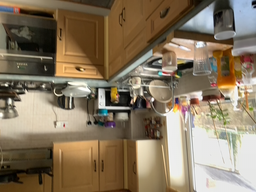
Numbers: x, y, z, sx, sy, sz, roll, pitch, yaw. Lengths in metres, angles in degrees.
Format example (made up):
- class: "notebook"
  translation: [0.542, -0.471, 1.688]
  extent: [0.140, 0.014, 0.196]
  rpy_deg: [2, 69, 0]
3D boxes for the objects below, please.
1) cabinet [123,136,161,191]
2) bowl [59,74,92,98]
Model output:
- class: "cabinet"
  translation: [0.150, 0.770, 2.400]
  extent: [0.300, 0.590, 0.310]
  rpy_deg: [1, 173, -22]
- class: "bowl"
  translation: [-0.610, -0.100, 2.420]
  extent: [0.300, 0.180, 0.500]
  rpy_deg: [1, 173, -21]
